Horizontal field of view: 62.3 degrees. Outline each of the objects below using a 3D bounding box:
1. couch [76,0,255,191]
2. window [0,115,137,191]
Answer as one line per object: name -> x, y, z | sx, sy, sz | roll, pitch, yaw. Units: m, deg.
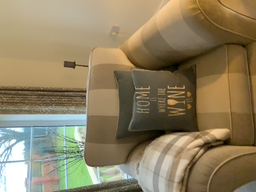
couch -> 0.240, 0.020, 1.410 | 1.020, 0.950, 1.090 | 165, 105, -64
window -> -0.870, 0.620, 2.280 | 0.060, 1.950, 0.860 | 127, 138, -51
